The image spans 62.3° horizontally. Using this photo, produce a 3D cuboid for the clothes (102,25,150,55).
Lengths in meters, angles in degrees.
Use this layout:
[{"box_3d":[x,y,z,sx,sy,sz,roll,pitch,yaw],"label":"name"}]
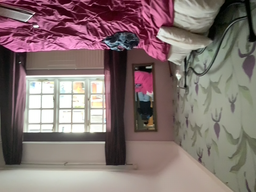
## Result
[{"box_3d":[0.010,-0.610,2.400,0.470,0.090,0.690,-1,175,5],"label":"clothes"}]
